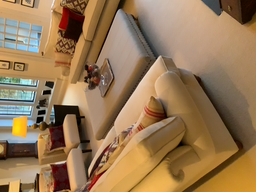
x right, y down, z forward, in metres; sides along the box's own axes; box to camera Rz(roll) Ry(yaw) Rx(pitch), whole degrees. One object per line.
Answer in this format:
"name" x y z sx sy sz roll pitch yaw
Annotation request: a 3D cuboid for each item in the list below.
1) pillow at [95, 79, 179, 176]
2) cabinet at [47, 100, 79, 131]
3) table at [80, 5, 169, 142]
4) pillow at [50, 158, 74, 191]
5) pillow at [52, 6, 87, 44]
"pillow" 0.120 0.300 1.650 0.270 0.430 0.800 61 176 36
"cabinet" -1.600 0.480 5.160 0.550 0.590 0.490 -58 41 39
"table" -0.220 -0.230 3.220 1.810 0.370 1.040 -57 41 39
"pillow" -1.260 1.570 4.010 0.370 0.320 0.620 114 143 -49
"pillow" -1.070 -1.310 3.940 0.520 0.440 0.240 75 169 -51
